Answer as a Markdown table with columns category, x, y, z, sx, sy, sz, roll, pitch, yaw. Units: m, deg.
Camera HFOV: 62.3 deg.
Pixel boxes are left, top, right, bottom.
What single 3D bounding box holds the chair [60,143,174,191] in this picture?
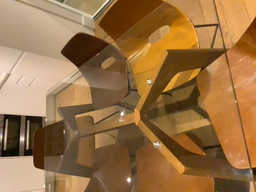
| category | x | y | z | sx | sy | sz | roll | pitch | yaw |
| --- | --- | --- | --- | --- | --- | --- | --- | --- | --- |
| chair | -0.070 | 0.570 | 1.590 | 0.390 | 0.750 | 0.370 | -23 | 66 | 45 |

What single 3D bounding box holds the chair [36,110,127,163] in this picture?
| category | x | y | z | sx | sy | sz | roll | pitch | yaw |
| --- | --- | --- | --- | --- | --- | --- | --- | --- | --- |
| chair | -0.430 | 0.400 | 2.050 | 0.370 | 0.750 | 0.390 | -24 | 66 | 45 |

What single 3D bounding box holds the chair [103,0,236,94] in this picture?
| category | x | y | z | sx | sy | sz | roll | pitch | yaw |
| --- | --- | --- | --- | --- | --- | --- | --- | --- | --- |
| chair | 0.280 | -0.300 | 1.350 | 0.390 | 0.750 | 0.370 | -26 | 64 | 44 |
